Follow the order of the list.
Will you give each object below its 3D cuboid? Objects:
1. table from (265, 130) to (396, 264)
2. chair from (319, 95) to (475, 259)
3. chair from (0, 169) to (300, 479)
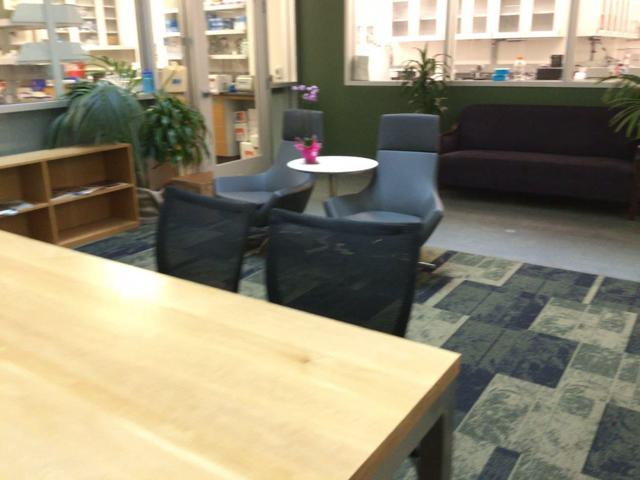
[{"bbox_3d":[0.080,-0.330,3.950,0.630,0.730,0.610,12,22,34],"label":"table"},{"bbox_3d":[0.490,-0.440,3.620,0.750,0.840,0.730,8,20,24],"label":"chair"},{"bbox_3d":[-0.530,0.310,1.840,0.550,0.890,0.780,12,22,34],"label":"chair"}]
